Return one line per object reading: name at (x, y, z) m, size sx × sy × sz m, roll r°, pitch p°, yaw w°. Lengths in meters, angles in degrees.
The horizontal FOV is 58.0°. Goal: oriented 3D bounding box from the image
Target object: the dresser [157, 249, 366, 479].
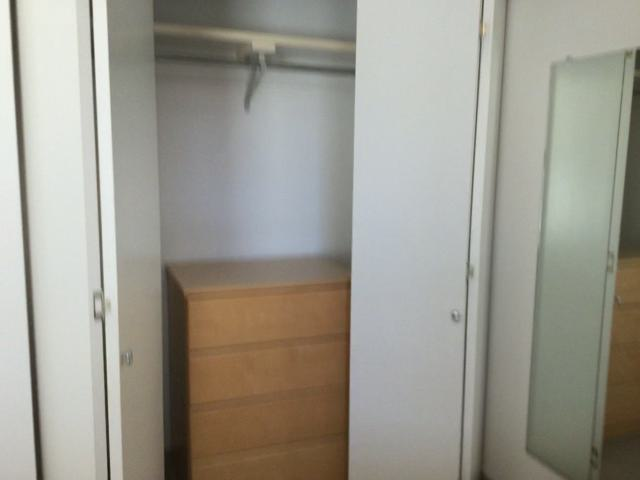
dresser at (-0.290, 0.590, 2.570) m, size 0.740 × 1.000 × 0.640 m, roll -2°, pitch 7°, yaw -24°
